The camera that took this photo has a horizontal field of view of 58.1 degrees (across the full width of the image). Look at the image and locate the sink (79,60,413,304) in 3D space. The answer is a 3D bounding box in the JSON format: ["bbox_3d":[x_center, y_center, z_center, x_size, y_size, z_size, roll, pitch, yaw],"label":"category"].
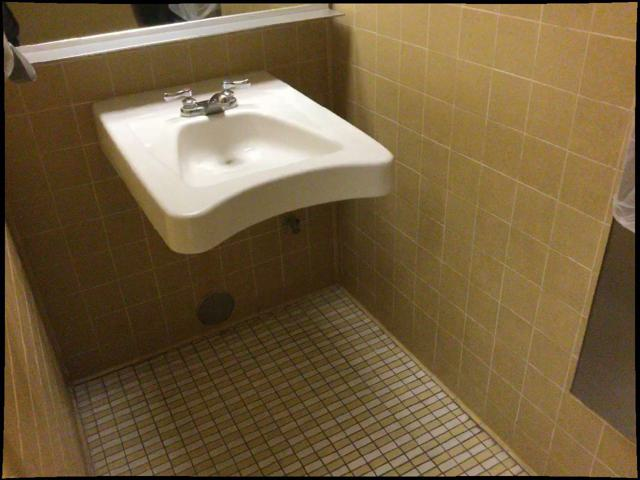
[{"bbox_3d":[-0.219,-0.211,1.420,0.549,0.220,0.720,-17,36,-24],"label":"sink"}]
